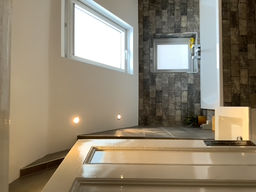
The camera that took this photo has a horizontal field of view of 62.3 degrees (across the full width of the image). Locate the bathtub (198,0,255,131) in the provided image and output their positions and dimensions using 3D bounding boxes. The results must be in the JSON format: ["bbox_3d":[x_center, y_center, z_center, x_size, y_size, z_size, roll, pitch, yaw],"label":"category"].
[{"bbox_3d":[1.370,-0.670,2.950,0.790,0.550,2.200,64,-153,-87],"label":"bathtub"}]
